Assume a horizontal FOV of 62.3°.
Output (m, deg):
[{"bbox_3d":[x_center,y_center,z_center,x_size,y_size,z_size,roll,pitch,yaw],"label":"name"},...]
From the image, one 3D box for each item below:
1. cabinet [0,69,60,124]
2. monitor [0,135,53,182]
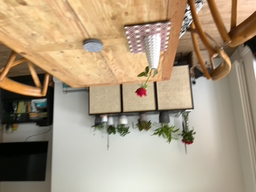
[{"bbox_3d":[-1.810,0.030,3.890,0.980,0.860,0.400,-4,168,7],"label":"cabinet"},{"bbox_3d":[-1.790,1.040,3.470,1.140,0.630,0.070,-10,168,9],"label":"monitor"}]
